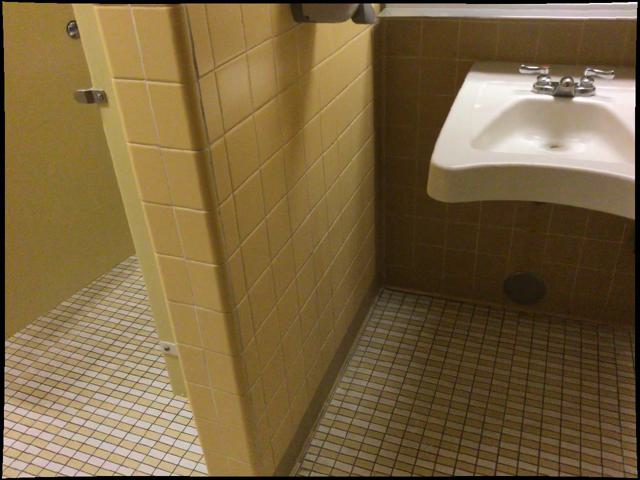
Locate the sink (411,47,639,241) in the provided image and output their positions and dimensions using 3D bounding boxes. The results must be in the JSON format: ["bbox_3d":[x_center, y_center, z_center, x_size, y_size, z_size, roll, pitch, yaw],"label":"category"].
[{"bbox_3d":[0.559,-0.281,1.390,0.529,0.180,0.710,7,34,19],"label":"sink"}]
